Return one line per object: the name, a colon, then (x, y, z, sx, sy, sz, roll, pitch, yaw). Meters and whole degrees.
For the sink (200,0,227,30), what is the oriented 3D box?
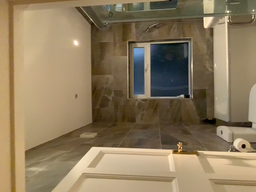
sink: (1.060, -1.130, 2.660, 0.550, 0.180, 0.420, -5, -86, -82)
